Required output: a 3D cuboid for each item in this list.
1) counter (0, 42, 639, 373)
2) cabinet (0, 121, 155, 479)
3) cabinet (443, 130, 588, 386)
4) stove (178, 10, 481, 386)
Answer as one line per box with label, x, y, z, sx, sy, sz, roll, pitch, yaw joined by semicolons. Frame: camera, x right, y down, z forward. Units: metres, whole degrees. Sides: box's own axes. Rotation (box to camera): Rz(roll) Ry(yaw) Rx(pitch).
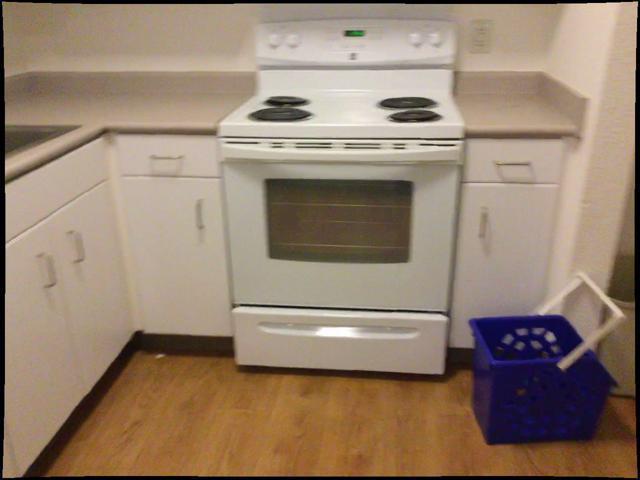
counter;-0.310;-0.320;1.580;2.128;0.210;1.740;2;25;8
cabinet;-0.799;0.230;1.610;0.110;0.871;1.110;2;25;8
cabinet;0.609;0.080;1.900;0.350;0.861;0.130;2;25;8
stove;0.080;-0.190;2.150;0.839;1.181;0.710;2;25;8
